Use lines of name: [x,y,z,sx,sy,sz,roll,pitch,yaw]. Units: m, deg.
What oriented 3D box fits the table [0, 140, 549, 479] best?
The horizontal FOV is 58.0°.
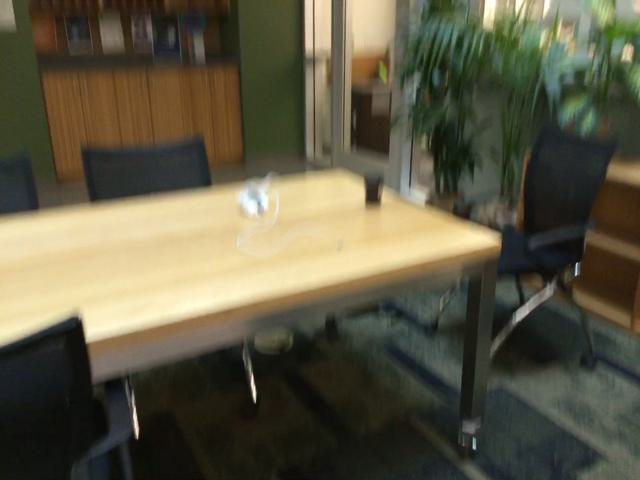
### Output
table: [-0.760,0.310,1.680,2.520,0.860,1.160,-9,22,-26]
